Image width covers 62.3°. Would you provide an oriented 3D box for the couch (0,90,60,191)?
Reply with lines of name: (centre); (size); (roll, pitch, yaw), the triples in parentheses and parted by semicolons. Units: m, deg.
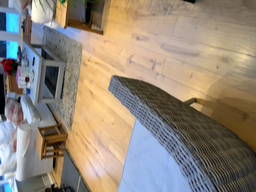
couch: (-1.910, 0.680, 3.860); (1.410, 0.770, 1.130); (35, 119, 48)
